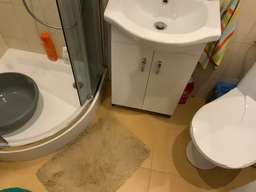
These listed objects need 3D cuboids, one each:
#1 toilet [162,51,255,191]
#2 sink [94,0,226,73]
[{"bbox_3d":[0.630,0.140,1.190,0.670,0.720,0.360,-29,63,-22],"label":"toilet"},{"bbox_3d":[0.150,-0.350,0.980,0.510,0.160,0.380,11,56,3],"label":"sink"}]
